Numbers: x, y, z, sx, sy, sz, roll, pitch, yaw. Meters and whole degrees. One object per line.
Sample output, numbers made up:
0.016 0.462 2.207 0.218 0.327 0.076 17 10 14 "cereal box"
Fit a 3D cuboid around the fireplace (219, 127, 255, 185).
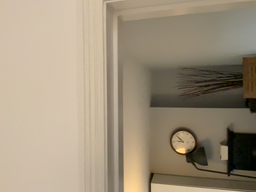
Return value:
2.120 0.980 3.460 0.280 1.120 0.860 0 -90 -75 "fireplace"
